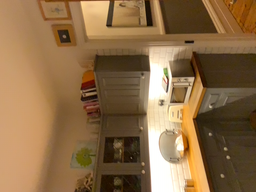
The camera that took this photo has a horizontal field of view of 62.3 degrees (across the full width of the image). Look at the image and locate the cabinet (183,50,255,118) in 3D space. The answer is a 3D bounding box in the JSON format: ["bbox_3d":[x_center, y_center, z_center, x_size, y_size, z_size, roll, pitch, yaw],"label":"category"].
[{"bbox_3d":[1.220,-0.150,2.580,0.550,0.900,0.600,88,-179,-48],"label":"cabinet"}]

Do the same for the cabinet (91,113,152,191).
[{"bbox_3d":[-0.070,0.820,2.700,0.300,0.670,1.260,89,-179,-49],"label":"cabinet"}]
